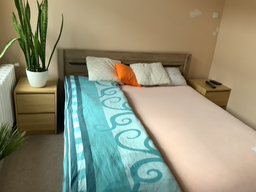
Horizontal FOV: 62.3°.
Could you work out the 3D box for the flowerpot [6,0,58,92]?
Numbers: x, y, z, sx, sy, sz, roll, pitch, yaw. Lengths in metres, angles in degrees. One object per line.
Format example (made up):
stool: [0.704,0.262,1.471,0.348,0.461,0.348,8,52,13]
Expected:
flowerpot: [-0.970,-0.550,2.240,0.350,0.910,0.410,1,23,-10]
